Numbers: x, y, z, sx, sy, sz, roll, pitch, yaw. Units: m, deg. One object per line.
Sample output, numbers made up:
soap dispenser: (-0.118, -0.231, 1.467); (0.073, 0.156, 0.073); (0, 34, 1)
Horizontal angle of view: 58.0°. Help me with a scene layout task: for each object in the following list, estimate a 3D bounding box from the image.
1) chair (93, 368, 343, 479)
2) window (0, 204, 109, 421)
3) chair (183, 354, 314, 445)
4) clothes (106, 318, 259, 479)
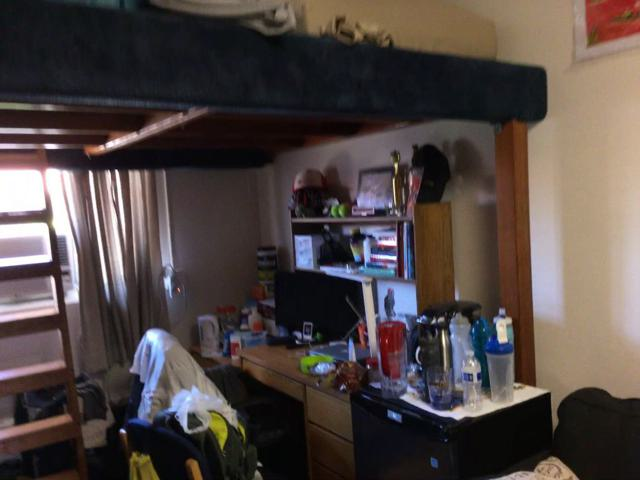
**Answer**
chair: (-0.370, 1.000, 2.110); (0.680, 0.830, 0.630); (-4, 3, -34)
window: (-1.600, 0.370, 3.260); (0.640, 1.110, 0.360); (-4, 3, -34)
chair: (-0.370, 0.750, 2.820); (0.350, 0.210, 0.690); (-4, 3, -34)
clothes: (-0.620, 0.780, 2.570); (0.450, 0.740, 0.580); (-4, 3, -34)
